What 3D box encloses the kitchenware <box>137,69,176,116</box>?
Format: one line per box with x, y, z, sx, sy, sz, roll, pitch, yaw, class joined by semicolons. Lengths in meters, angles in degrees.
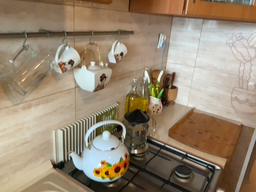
0.190;-0.030;1.450;0.170;0.260;0.160;21;26;37;kitchenware
